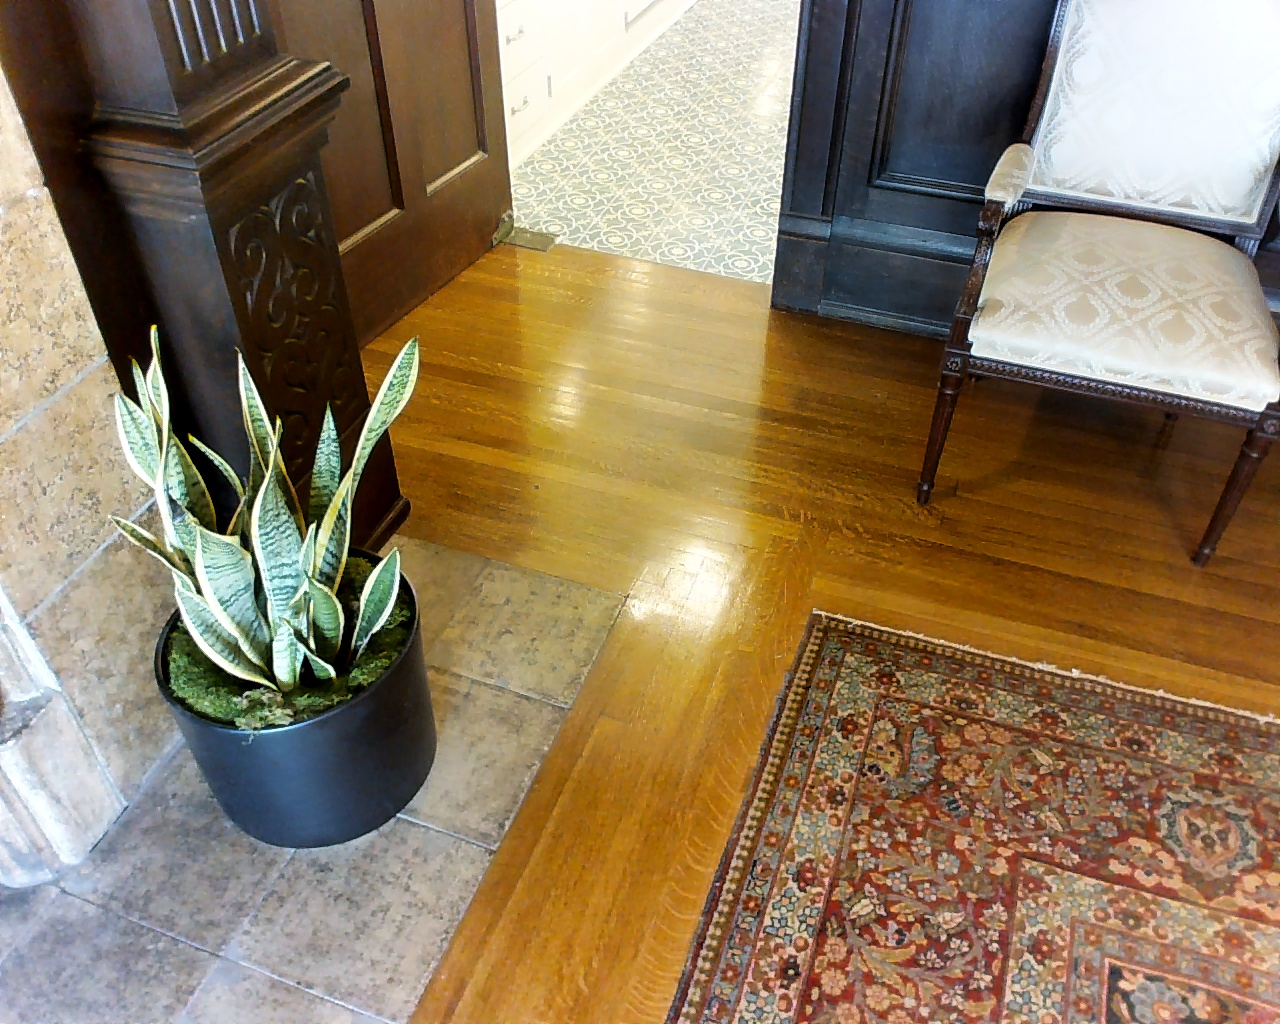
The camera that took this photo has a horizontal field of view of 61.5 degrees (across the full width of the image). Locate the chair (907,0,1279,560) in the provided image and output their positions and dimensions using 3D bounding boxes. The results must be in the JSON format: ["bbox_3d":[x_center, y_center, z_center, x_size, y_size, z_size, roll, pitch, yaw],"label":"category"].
[{"bbox_3d":[1.040,-0.600,2.230,0.670,1.040,0.750,14,44,14],"label":"chair"}]
